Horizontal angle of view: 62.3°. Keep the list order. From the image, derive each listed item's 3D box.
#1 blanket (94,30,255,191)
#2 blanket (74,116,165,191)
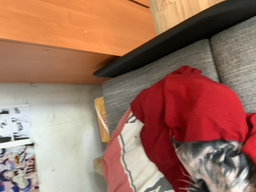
[{"bbox_3d":[0.280,0.280,0.840,0.800,0.320,0.830,-12,83,44],"label":"blanket"},{"bbox_3d":[-0.050,0.580,1.190,0.490,0.210,0.910,-6,88,44],"label":"blanket"}]
